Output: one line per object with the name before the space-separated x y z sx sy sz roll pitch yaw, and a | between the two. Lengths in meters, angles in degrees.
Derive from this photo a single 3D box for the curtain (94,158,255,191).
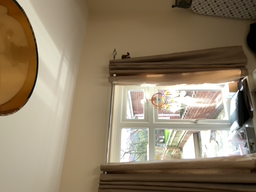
curtain | 0.480 0.720 1.750 0.200 1.480 0.340 82 -171 -62
